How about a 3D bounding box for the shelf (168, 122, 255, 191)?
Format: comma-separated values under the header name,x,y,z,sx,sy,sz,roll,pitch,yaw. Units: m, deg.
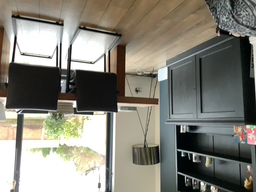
name,x,y,z,sx,sy,sz,roll,pitch,yaw
shelf,1.120,1.020,2.610,0.530,1.360,1.410,3,173,-23
